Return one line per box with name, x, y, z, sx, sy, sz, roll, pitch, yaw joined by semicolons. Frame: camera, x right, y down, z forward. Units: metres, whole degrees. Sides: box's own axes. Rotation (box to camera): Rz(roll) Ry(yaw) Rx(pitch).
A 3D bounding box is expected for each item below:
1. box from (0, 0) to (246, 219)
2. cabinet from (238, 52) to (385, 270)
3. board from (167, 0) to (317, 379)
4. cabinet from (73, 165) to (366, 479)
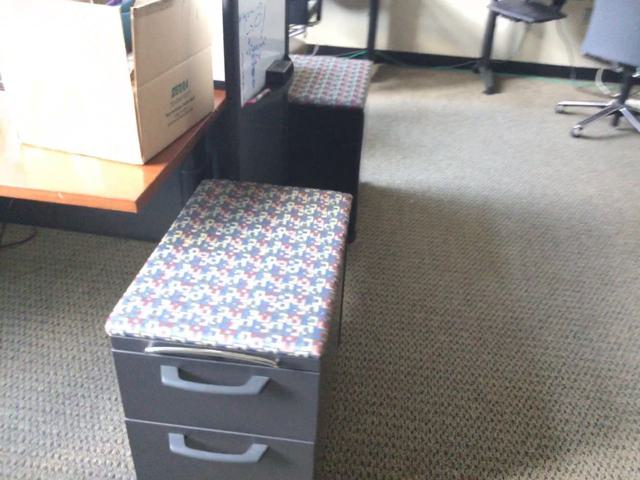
box;-0.460;-0.400;1.390;0.420;0.460;0.500;7;34;7
cabinet;-0.010;-0.340;2.300;0.420;0.590;0.670;7;34;7
board;-0.160;-0.500;1.550;0.170;1.680;0.740;7;34;7
cabinet;-0.160;0.250;1.360;0.420;0.590;0.630;7;34;7
